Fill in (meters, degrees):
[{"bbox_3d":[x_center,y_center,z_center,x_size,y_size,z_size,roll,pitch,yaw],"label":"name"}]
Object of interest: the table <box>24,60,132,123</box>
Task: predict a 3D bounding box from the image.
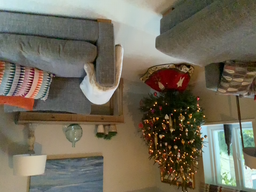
[{"bbox_3d":[-0.770,0.010,3.590,1.680,0.840,0.470,5,168,-33],"label":"table"}]
